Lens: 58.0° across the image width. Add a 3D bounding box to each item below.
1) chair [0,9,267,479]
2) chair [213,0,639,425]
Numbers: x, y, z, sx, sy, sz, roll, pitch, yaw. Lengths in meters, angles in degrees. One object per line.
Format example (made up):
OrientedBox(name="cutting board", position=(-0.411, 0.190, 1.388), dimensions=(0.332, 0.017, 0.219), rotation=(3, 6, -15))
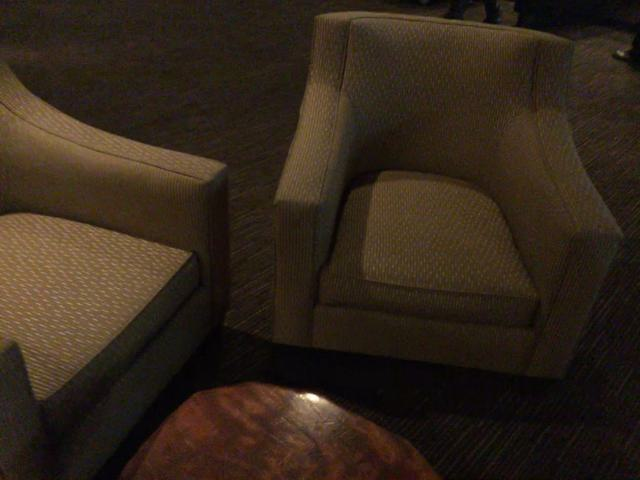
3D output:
OrientedBox(name="chair", position=(-0.800, 0.040, 1.370), dimensions=(1.020, 0.860, 1.030), rotation=(13, 35, 14))
OrientedBox(name="chair", position=(0.320, -0.170, 1.790), dimensions=(1.020, 0.880, 0.980), rotation=(5, 34, 3))
